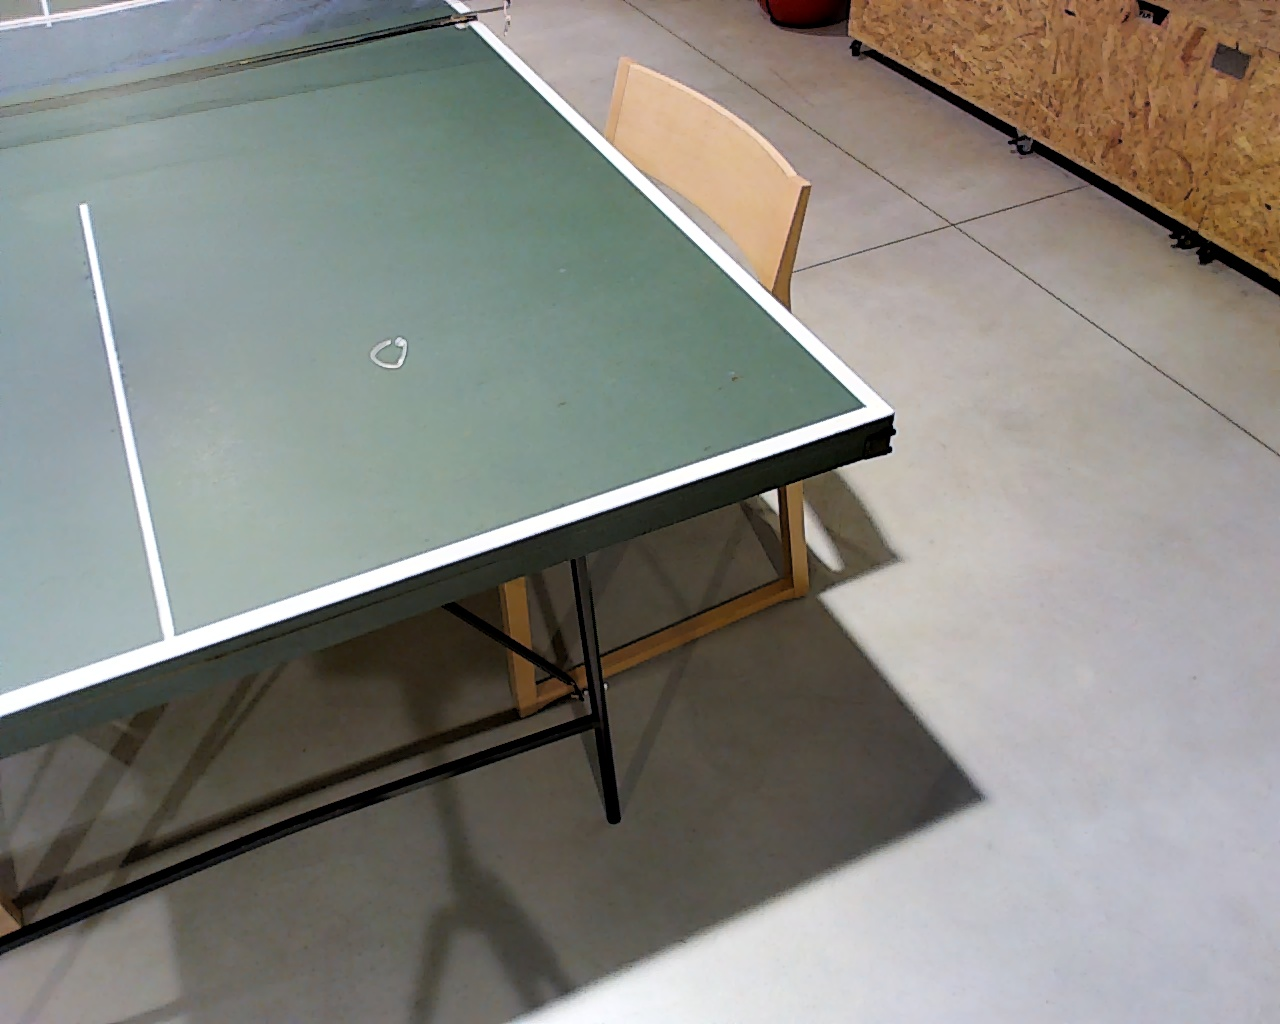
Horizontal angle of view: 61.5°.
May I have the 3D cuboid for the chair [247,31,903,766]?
[{"bbox_3d":[-0.120,-0.210,1.810,0.720,0.830,0.690,-19,46,-18],"label":"chair"}]
